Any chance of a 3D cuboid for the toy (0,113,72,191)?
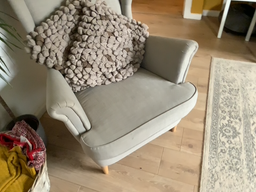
[{"bbox_3d":[-0.620,0.410,1.060,0.400,0.380,0.440,18,50,20],"label":"toy"}]
